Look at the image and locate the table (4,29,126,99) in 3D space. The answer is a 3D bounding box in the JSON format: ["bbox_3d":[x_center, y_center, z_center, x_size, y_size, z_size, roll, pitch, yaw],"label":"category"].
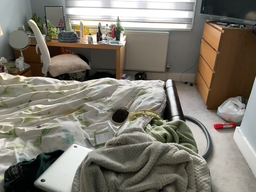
[{"bbox_3d":[-0.810,-0.500,3.100,1.480,0.740,0.710,4,26,4],"label":"table"}]
